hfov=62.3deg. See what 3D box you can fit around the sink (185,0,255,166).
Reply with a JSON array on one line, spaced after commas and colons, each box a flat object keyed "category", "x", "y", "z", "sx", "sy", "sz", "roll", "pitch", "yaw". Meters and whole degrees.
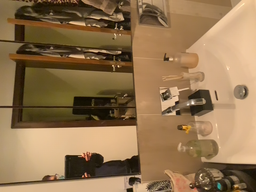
[{"category": "sink", "x": 0.470, "y": -0.030, "z": 0.900, "sx": 0.480, "sy": 0.150, "sz": 0.610, "roll": 134, "pitch": 135, "yaw": -68}]
